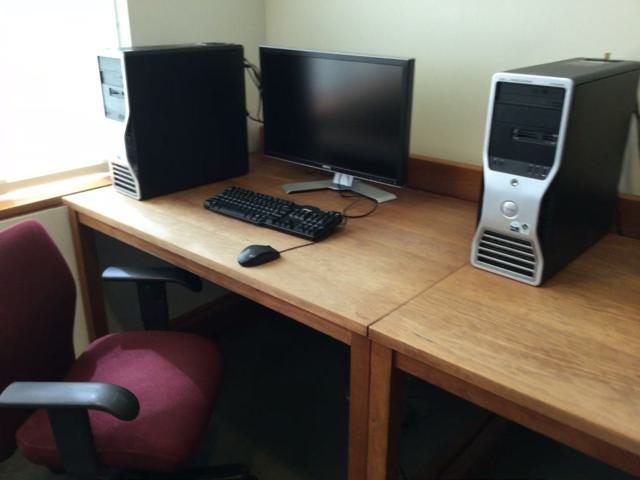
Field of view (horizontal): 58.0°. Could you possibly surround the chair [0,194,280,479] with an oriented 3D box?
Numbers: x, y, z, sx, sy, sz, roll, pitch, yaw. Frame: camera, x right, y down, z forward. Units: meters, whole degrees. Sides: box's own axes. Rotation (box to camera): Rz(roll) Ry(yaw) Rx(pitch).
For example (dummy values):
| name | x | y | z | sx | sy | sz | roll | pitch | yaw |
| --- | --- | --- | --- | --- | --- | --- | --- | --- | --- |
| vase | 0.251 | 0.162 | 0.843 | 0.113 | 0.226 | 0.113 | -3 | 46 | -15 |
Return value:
| name | x | y | z | sx | sy | sz | roll | pitch | yaw |
| --- | --- | --- | --- | --- | --- | --- | --- | --- | --- |
| chair | -0.520 | 0.390 | 1.520 | 0.660 | 0.820 | 0.700 | 6 | 20 | 9 |
